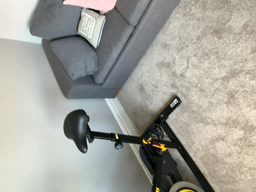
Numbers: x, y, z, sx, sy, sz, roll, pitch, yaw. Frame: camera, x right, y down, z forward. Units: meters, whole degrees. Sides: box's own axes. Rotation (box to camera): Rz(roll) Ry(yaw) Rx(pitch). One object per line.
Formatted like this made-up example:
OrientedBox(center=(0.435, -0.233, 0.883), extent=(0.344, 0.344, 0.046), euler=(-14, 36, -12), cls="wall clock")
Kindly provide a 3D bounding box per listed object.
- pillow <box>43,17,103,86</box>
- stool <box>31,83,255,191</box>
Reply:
OrientedBox(center=(-0.530, -0.410, 1.990), extent=(0.270, 0.290, 0.560), euler=(-45, 58, 25), cls="pillow")
OrientedBox(center=(0.150, 0.590, 1.330), extent=(0.640, 1.030, 1.210), euler=(-54, 54, 33), cls="stool")
